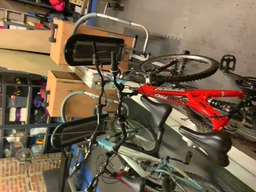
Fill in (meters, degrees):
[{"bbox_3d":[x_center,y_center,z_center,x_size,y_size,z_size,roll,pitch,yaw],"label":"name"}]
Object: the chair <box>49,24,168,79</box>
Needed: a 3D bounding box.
[{"bbox_3d":[-0.220,-0.470,2.290,0.690,1.050,0.300,37,118,52],"label":"chair"}]
